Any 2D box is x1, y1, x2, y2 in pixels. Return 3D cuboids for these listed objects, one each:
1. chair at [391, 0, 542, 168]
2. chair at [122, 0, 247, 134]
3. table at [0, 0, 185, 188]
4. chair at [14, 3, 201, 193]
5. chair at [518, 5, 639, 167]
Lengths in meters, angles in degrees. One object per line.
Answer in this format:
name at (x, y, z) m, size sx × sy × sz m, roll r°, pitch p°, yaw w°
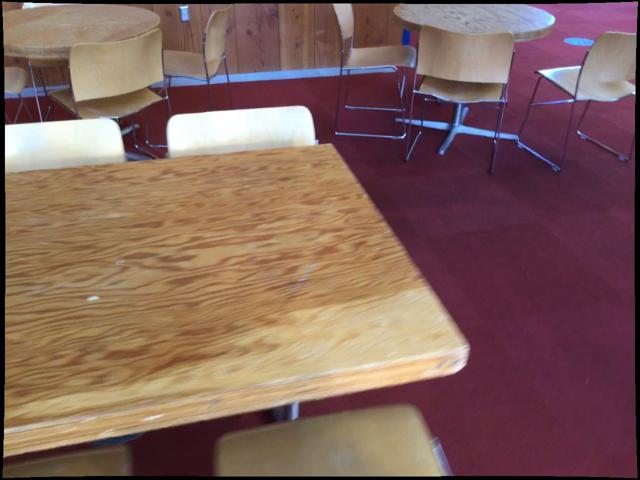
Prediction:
chair at (0.779, -0.861, 3.120) m, size 0.610 × 0.680 × 0.520 m, roll 14°, pitch 36°, yaw 18°
chair at (-0.739, -1.051, 3.360) m, size 0.549 × 0.690 × 0.560 m, roll 0°, pitch 34°, yaw -2°
table at (-1.269, -0.861, 3.150) m, size 0.929 × 0.710 × 0.930 m, roll -7°, pitch 35°, yaw -12°
chair at (-1.029, -0.731, 2.870) m, size 0.580 × 0.680 × 0.580 m, roll -25°, pitch 42°, yaw -33°
chair at (1.538, -0.861, 3.200) m, size 0.530 × 0.710 × 0.500 m, roll -7°, pitch 35°, yaw -12°
